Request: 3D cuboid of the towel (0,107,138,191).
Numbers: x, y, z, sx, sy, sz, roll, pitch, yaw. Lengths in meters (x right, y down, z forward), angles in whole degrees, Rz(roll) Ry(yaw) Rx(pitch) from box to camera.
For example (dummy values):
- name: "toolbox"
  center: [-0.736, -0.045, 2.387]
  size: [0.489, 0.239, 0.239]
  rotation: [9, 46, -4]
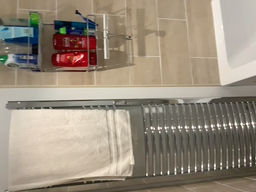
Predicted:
- name: "towel"
  center: [-0.270, 0.250, 1.030]
  size: [0.100, 0.610, 0.360]
  rotation: [143, 124, -73]
